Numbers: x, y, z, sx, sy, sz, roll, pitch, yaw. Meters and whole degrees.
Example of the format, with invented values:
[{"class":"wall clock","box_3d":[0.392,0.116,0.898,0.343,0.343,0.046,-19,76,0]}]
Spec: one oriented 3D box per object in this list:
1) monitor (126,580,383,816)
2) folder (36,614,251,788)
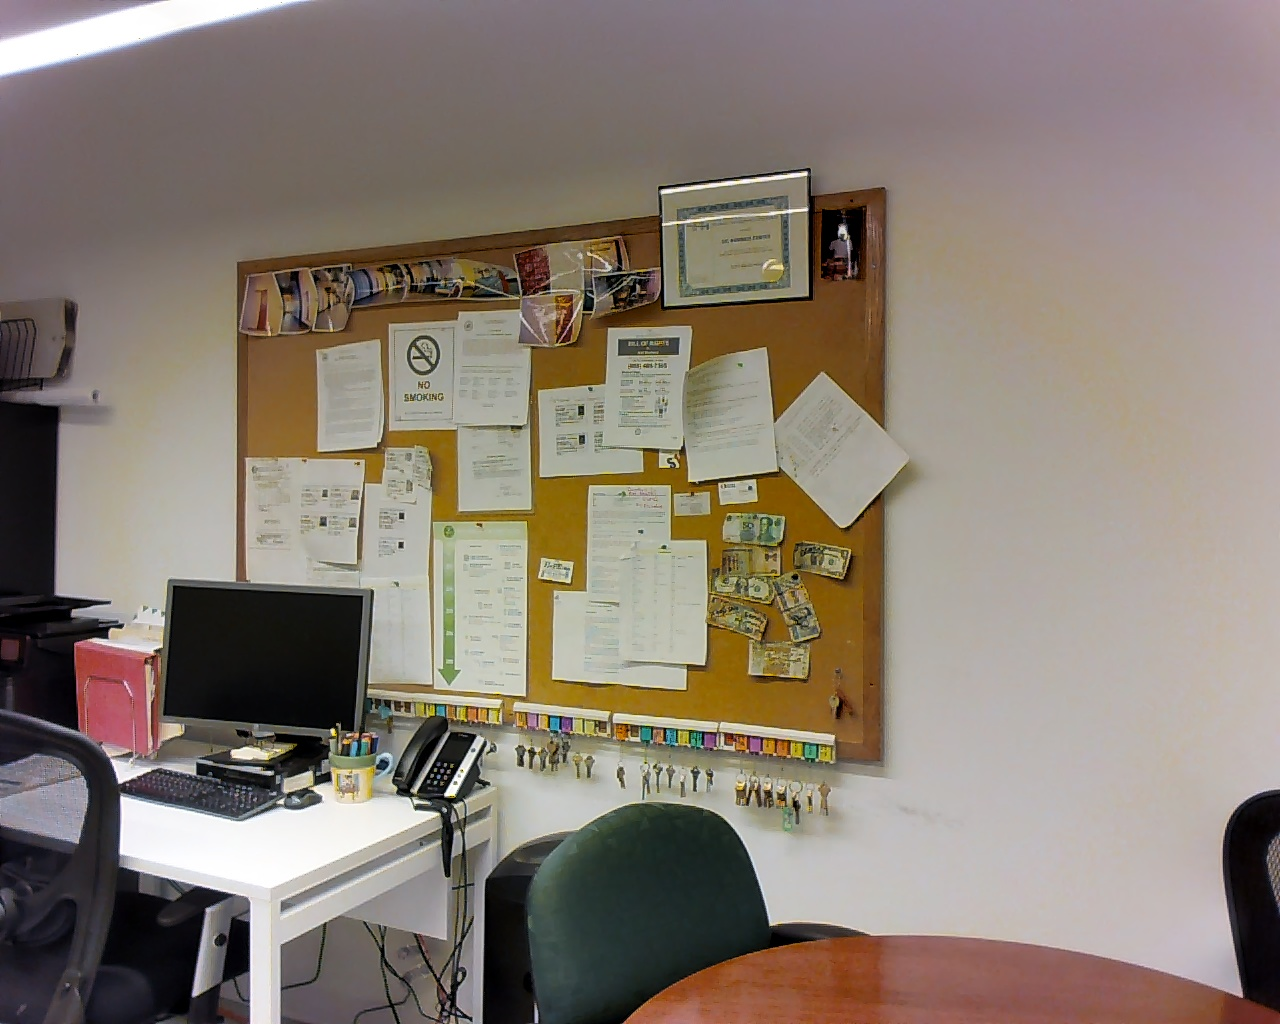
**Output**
[{"class":"monitor","box_3d":[-0.960,0.440,2.660,0.620,0.510,0.190,1,0,21]},{"class":"folder","box_3d":[-1.360,0.500,2.950,0.400,0.390,0.360,1,0,25]}]
